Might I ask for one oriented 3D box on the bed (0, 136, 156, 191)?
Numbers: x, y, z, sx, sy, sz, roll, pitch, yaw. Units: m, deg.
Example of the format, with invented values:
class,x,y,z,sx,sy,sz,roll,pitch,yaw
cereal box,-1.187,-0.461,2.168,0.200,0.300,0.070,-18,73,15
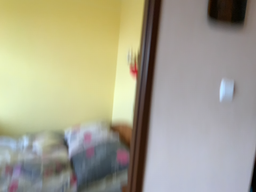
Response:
class,x,y,z,sx,sy,sz,roll,pitch,yaw
bed,-0.970,0.890,2.270,2.040,0.380,1.480,2,8,-20
